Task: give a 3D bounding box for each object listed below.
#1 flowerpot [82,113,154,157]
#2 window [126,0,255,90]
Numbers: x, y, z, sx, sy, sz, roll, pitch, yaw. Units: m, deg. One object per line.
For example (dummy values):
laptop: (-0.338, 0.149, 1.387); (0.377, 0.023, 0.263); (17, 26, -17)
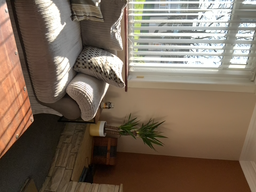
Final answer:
flowerpot: (-0.120, 0.550, 3.050); (0.360, 0.960, 0.410); (-75, 167, -62)
window: (0.870, -0.910, 2.560); (0.270, 1.770, 1.630); (-75, 167, -62)
